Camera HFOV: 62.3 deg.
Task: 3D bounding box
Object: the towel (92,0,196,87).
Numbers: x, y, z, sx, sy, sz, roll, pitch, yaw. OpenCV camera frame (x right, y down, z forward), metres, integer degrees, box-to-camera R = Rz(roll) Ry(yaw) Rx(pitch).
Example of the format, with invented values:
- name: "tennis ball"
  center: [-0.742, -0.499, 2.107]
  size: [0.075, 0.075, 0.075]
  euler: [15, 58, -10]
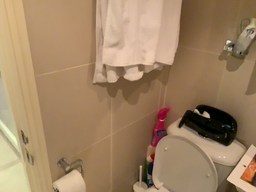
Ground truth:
- name: "towel"
  center: [0.090, -0.330, 0.880]
  size: [0.490, 0.470, 0.110]
  euler: [-20, 35, -39]
